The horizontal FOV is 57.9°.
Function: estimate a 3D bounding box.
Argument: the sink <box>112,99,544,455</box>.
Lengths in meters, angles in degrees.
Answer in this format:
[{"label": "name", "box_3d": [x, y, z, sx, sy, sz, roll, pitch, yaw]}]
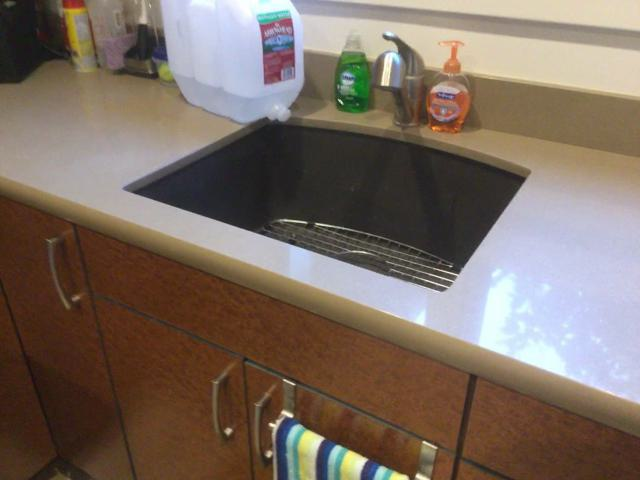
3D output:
[{"label": "sink", "box_3d": [0.030, 0.000, 1.030, 0.560, 0.300, 0.460, 17, 34, 25]}]

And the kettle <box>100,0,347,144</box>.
[{"label": "kettle", "box_3d": [-0.190, -0.400, 1.200, 0.400, 0.250, 0.280, 17, 34, 25]}]

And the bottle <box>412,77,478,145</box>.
[{"label": "bottle", "box_3d": [0.240, -0.250, 1.110, 0.080, 0.090, 0.110, 17, 34, 25]}]
